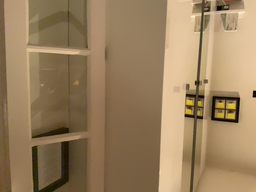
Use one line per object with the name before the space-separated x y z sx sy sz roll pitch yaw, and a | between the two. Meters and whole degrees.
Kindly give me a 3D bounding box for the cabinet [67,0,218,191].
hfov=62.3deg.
cabinet | 0.400 -0.150 2.090 0.580 2.370 2.160 5 -172 27
